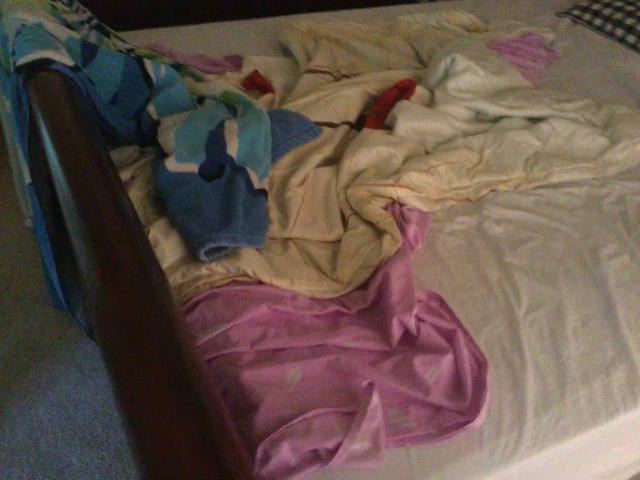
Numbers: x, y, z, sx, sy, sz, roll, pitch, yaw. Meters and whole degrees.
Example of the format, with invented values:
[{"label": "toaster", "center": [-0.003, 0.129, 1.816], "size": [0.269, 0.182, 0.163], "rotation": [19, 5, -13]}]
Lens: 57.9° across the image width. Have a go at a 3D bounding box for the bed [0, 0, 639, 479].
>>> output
[{"label": "bed", "center": [0.510, -0.270, 1.490], "size": [2.400, 1.100, 1.670], "rotation": [-15, 44, -23]}]
